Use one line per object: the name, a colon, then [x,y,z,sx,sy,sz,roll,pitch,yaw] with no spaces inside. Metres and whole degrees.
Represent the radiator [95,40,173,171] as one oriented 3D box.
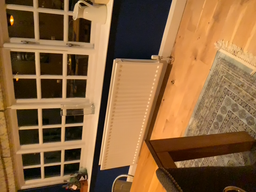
radiator: [0.010,0.230,2.600,0.090,0.630,1.800,-121,36,-52]
